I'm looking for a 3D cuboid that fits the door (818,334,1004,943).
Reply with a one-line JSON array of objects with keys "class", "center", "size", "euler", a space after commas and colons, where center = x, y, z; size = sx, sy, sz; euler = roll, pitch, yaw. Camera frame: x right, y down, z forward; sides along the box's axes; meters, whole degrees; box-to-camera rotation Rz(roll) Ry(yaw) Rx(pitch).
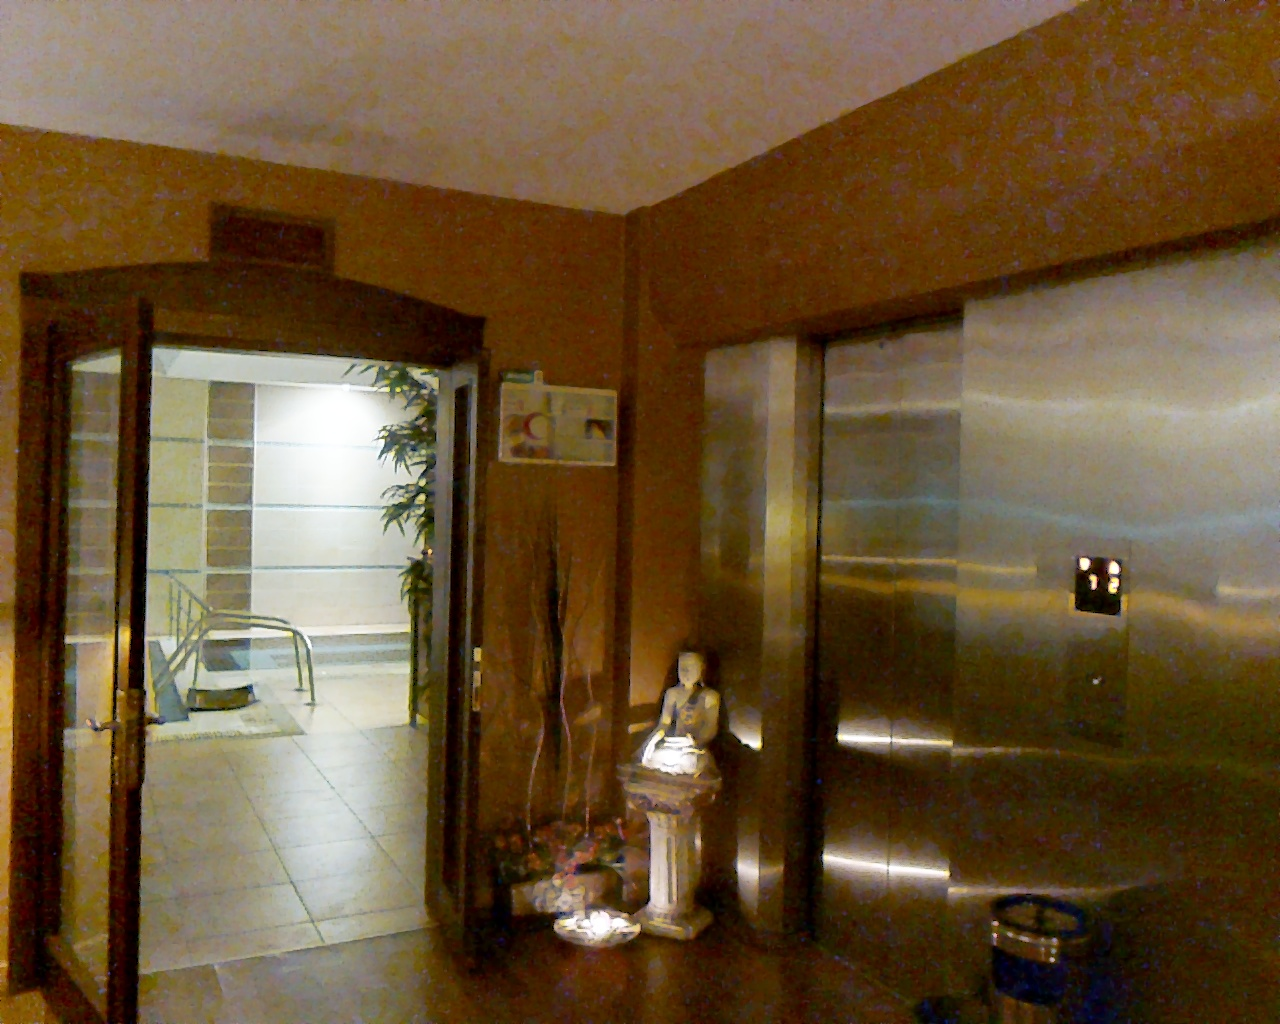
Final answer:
[{"class": "door", "center": [0.840, 0.360, 3.460], "size": [0.040, 1.750, 0.790], "euler": [1, 0, -26]}]
